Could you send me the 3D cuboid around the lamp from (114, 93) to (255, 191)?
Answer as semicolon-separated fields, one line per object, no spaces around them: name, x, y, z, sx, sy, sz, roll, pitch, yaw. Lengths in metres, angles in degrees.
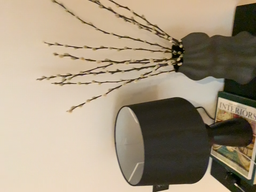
lamp;0.230;0.150;0.830;0.190;0.530;0.280;-148;59;-66
